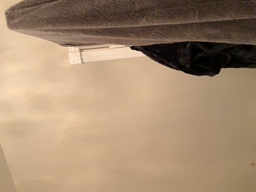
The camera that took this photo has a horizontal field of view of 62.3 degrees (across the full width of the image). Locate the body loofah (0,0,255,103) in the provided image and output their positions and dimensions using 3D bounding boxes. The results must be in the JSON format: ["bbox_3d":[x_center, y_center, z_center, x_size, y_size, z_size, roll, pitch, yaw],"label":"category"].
[{"bbox_3d":[0.230,-0.250,0.720,0.610,1.260,0.370,-67,-28,-83],"label":"body loofah"}]
